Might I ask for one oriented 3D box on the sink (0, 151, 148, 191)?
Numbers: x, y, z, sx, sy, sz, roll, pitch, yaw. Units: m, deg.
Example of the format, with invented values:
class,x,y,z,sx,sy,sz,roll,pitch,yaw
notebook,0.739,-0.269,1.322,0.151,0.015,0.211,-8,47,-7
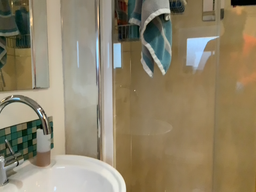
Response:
class,x,y,z,sx,sy,sz,roll,pitch,yaw
sink,-0.240,0.370,0.630,0.470,0.180,0.540,2,6,20
